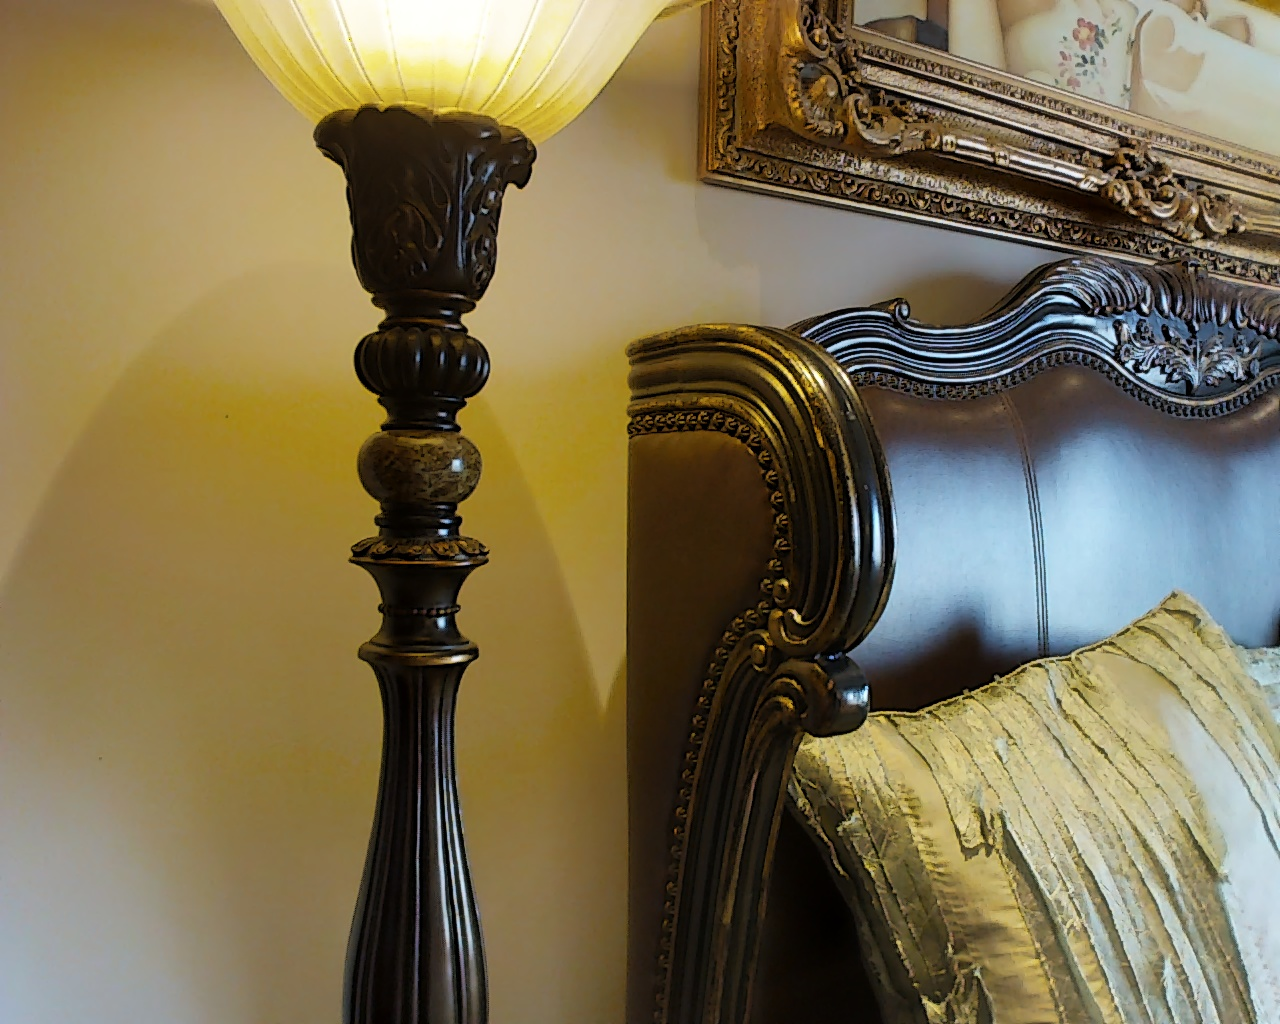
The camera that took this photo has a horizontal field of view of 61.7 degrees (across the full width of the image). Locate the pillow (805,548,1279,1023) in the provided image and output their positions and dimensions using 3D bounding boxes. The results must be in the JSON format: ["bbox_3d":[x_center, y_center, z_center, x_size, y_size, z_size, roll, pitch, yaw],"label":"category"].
[{"bbox_3d":[0.420,0.290,0.860,0.450,0.480,0.200,0,-20,-28],"label":"pillow"}]
